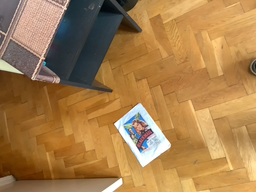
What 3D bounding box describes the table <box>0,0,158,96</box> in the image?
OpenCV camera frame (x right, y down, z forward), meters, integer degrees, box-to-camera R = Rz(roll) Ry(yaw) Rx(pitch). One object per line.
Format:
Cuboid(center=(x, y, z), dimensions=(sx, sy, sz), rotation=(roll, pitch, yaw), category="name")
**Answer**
Cuboid(center=(-0.170, -0.480, 1.000), dimensions=(0.350, 0.620, 0.860), rotation=(29, 97, 21), category="table")
